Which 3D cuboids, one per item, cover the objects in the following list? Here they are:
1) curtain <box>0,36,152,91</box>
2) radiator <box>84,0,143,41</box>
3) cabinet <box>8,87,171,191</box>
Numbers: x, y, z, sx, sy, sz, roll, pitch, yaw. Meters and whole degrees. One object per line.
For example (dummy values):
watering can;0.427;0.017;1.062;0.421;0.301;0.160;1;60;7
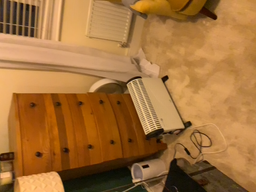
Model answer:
curtain;-0.800;-0.250;1.640;0.270;2.270;0.330;38;121;49
radiator;-0.130;-0.770;1.990;0.120;0.480;0.420;38;121;49
cabinet;-0.340;0.340;1.890;0.570;1.210;0.610;-46;54;46
